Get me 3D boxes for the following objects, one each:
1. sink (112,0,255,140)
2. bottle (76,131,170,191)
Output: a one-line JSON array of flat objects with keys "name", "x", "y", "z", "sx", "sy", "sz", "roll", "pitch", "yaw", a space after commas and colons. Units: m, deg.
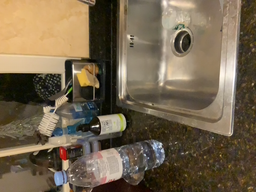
[{"name": "sink", "x": 0.180, "y": -0.190, "z": 0.740, "sx": 0.520, "sy": 0.230, "sz": 0.520, "roll": 11, "pitch": 101, "yaw": 54}, {"name": "bottle", "x": -0.010, "y": 0.190, "z": 0.640, "sx": 0.110, "sy": 0.260, "sz": 0.110, "roll": 13, "pitch": 103, "yaw": 54}]
